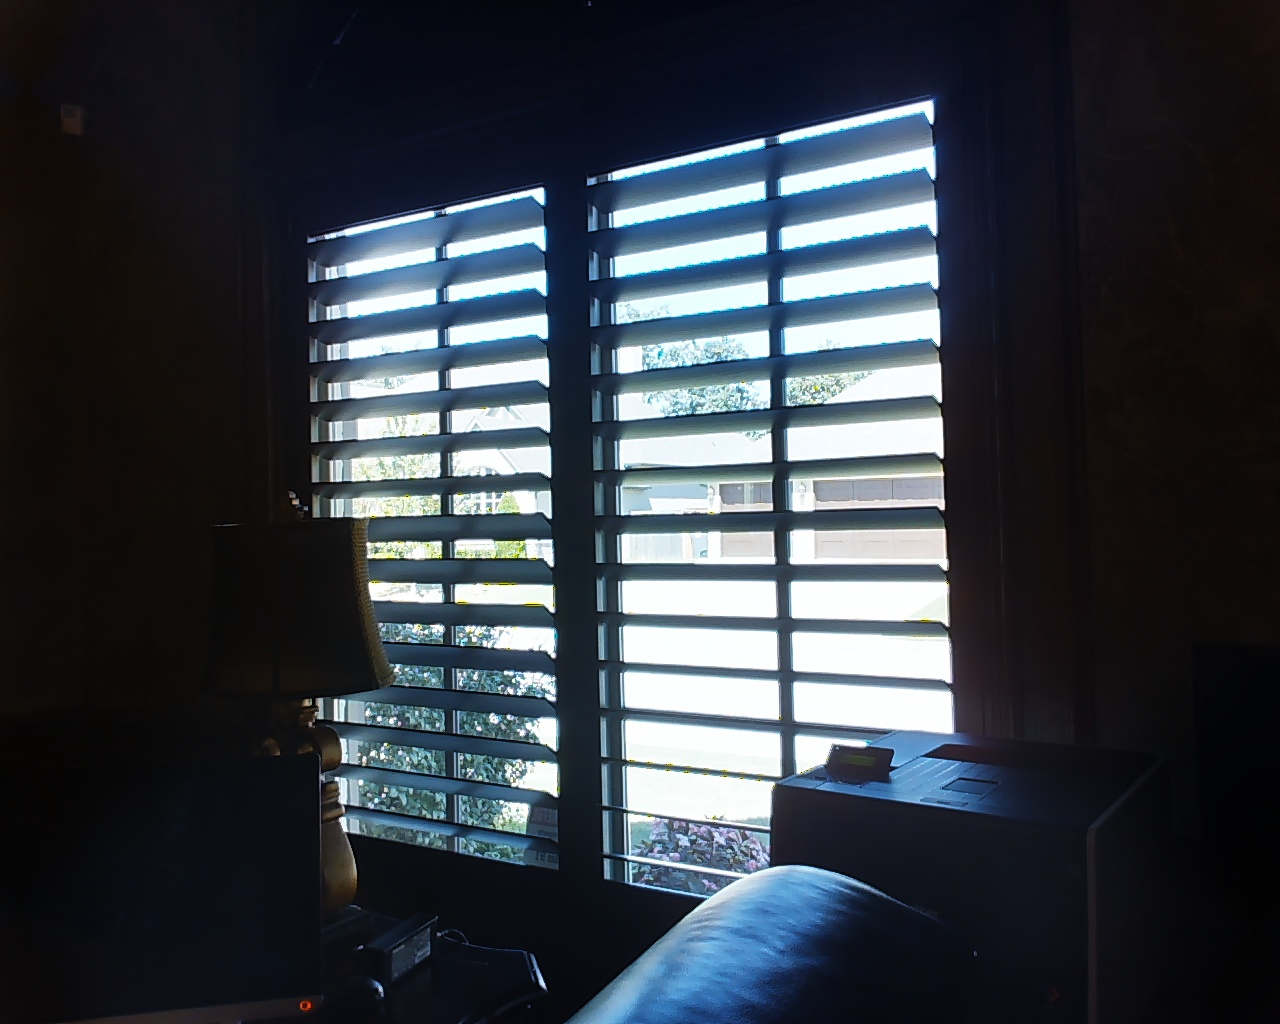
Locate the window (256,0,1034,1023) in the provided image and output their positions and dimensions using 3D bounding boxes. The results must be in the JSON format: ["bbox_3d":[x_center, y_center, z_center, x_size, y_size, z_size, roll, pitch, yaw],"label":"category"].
[{"bbox_3d":[-0.140,0.300,2.320,1.850,2.420,0.140,-1,-1,30],"label":"window"}]

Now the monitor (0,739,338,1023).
[{"bbox_3d":[-0.700,0.540,1.420,0.570,0.400,0.210,0,-1,-15],"label":"monitor"}]

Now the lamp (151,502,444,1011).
[{"bbox_3d":[-0.580,0.370,1.820,0.380,0.760,0.290,-1,-1,29],"label":"lamp"}]
